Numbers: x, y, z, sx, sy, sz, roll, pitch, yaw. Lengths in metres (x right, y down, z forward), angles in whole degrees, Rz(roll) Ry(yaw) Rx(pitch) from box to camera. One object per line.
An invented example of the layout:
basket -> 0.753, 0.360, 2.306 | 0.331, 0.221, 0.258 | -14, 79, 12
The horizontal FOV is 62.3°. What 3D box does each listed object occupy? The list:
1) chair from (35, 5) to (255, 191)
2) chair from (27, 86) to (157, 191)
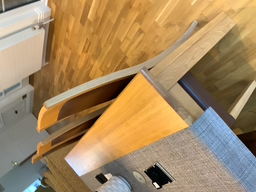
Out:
chair -> 0.150, 0.050, 1.180 | 0.630, 1.020, 0.470 | 49, 145, 0
chair -> -0.320, 0.490, 2.100 | 0.630, 1.020, 0.470 | 51, 145, -2
